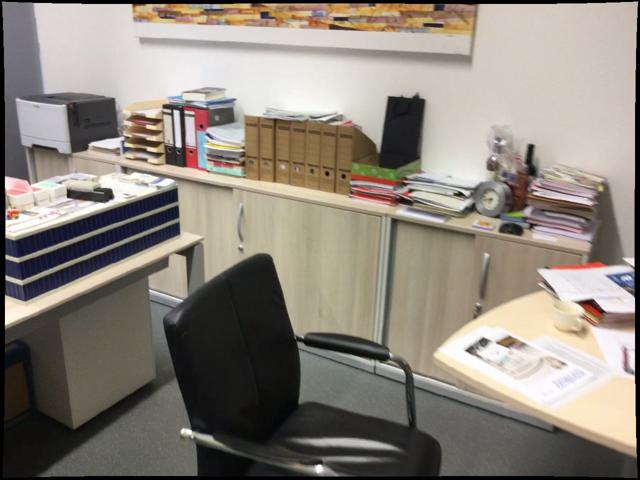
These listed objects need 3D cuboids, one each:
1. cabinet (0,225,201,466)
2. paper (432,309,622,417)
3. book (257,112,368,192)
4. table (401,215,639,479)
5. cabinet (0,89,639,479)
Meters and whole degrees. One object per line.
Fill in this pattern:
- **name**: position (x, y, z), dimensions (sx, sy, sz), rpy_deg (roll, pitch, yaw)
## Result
- **cabinet**: position (-0.889, 0.360, 2.320), dimensions (0.420, 0.611, 0.750), rpy_deg (13, 21, 25)
- **paper**: position (0.539, 0.300, 1.510), dimensions (0.380, 0.030, 0.310), rpy_deg (18, 24, 37)
- **book**: position (-0.040, -0.430, 2.760), dimensions (0.450, 0.290, 0.250), rpy_deg (13, 21, 25)
- **table**: position (1.009, 0.551, 1.730), dimensions (1.199, 0.821, 1.110), rpy_deg (13, 21, 25)
- **cabinet**: position (-0.380, -0.060, 2.990), dimensions (3.427, 1.081, 0.770), rpy_deg (13, 21, 25)
